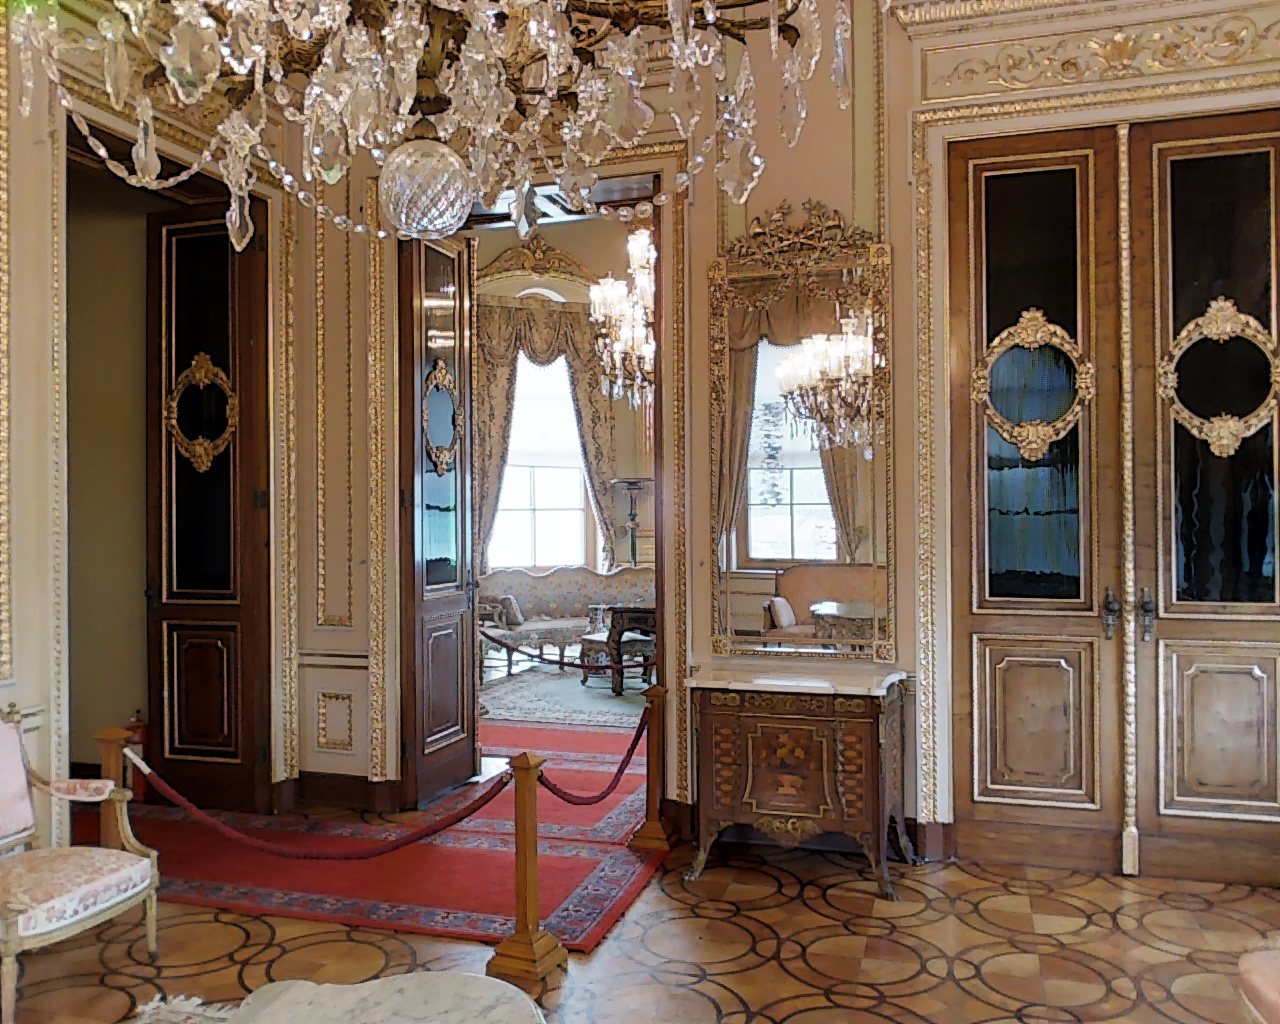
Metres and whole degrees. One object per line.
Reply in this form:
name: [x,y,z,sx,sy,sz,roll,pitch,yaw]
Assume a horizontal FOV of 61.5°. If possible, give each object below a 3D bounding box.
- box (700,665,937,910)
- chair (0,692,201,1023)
box: [0.850,1.241,5.040,1.020,0.920,0.600,0,0,18]
chair: [-2.099,1.221,3.800,0.750,1.020,0.680,0,0,18]
